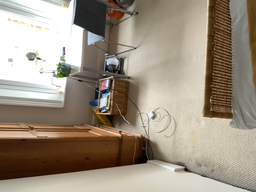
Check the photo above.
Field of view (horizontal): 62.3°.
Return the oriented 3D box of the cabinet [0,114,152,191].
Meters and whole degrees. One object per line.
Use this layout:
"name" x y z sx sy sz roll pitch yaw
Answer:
"cabinet" -0.880 0.570 2.170 1.070 2.020 0.650 2 86 53
